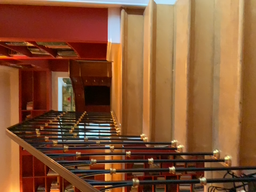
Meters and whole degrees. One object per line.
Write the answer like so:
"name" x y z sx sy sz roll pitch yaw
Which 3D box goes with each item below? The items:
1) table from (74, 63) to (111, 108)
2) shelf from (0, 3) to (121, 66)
"table" -0.780 -0.240 4.810 0.820 0.730 0.620 -97 10 -45
"shelf" -1.130 -0.630 2.470 1.330 1.980 0.350 -171 81 -83
